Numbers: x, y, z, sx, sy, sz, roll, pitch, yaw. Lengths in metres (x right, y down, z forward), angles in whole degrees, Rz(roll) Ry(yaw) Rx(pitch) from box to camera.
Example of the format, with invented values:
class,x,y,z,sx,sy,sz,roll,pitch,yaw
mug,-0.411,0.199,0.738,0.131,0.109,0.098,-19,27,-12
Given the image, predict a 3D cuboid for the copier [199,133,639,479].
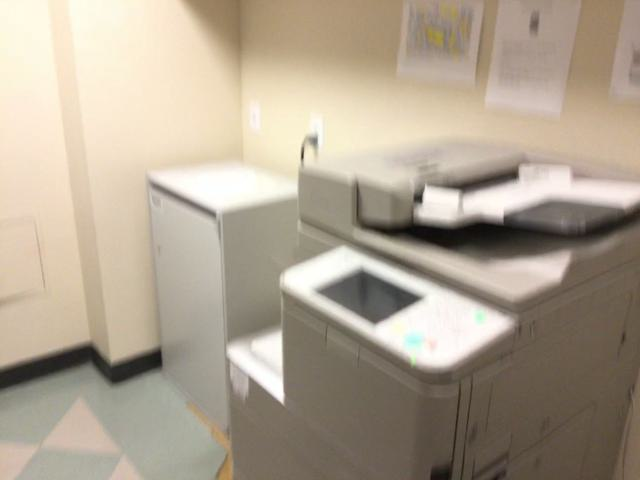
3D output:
class,x,y,z,sx,sy,sz,roll,pitch,yaw
copier,0.230,0.410,1.330,0.770,1.210,0.670,-10,21,-38
